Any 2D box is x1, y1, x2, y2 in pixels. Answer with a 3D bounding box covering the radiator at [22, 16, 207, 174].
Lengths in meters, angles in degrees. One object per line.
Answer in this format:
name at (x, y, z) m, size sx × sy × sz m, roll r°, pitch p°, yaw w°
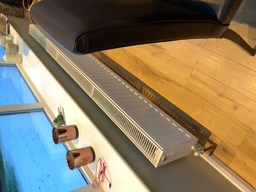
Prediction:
radiator at (-0.340, -0.250, 1.710) m, size 2.070 × 0.410 × 0.120 m, roll 42°, pitch 122°, yaw 38°
